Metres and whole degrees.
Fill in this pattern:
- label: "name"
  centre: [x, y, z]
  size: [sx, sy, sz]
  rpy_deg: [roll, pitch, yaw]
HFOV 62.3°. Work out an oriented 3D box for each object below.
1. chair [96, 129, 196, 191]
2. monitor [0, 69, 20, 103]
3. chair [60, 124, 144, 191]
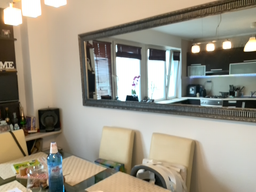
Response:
- label: "chair"
  centre: [0.160, 0.830, 1.570]
  size: [0.460, 1.000, 0.590]
  rpy_deg: [4, 8, 39]
- label: "monitor"
  centre: [-1.520, -0.100, 2.370]
  size: [0.030, 0.370, 0.540]
  rpy_deg: [5, 13, 44]
- label: "chair"
  centre: [-0.200, 0.820, 1.880]
  size: [0.420, 0.990, 0.590]
  rpy_deg: [4, 8, 39]
